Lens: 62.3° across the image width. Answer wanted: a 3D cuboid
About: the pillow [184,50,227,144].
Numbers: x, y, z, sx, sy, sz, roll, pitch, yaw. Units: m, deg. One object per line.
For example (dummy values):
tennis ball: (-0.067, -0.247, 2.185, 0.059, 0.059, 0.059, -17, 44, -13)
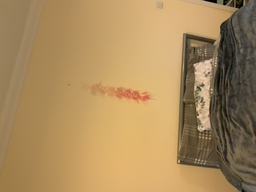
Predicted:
pillow: (0.740, 0.020, 2.040, 0.290, 0.240, 0.830, 130, 149, -76)
